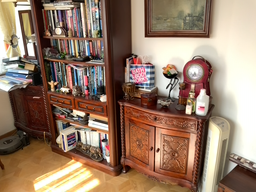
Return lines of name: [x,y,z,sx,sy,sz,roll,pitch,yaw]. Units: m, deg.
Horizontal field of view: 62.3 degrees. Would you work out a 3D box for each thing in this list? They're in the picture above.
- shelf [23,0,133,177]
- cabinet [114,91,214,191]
shelf: [-0.480,-0.270,2.230,0.970,2.040,0.430,11,24,29]
cabinet: [0.320,0.440,2.050,0.810,0.800,0.360,11,24,29]
